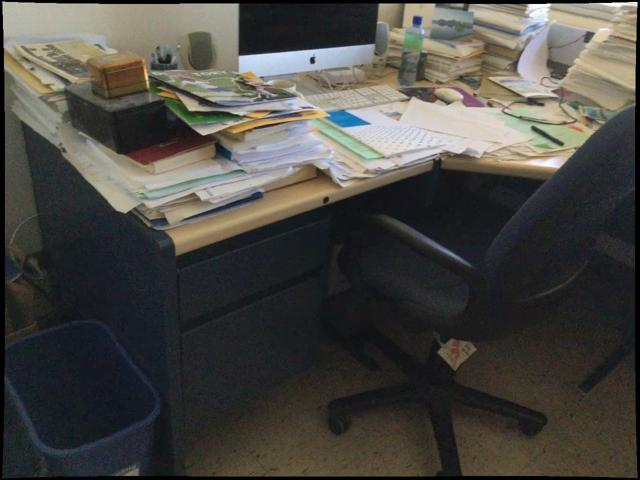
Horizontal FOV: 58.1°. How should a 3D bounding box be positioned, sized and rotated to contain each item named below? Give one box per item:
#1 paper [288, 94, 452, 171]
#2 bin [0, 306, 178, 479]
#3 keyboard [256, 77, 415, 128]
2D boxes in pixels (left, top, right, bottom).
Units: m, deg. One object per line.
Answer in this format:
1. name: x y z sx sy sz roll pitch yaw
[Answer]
1. paper: 0.130 -0.301 1.550 0.260 0.040 0.360 -22 41 -37
2. bin: -0.559 0.461 1.340 0.270 0.391 0.410 -22 41 -37
3. keyboard: 0.060 -0.431 1.770 0.499 0.030 0.180 -22 41 -37
